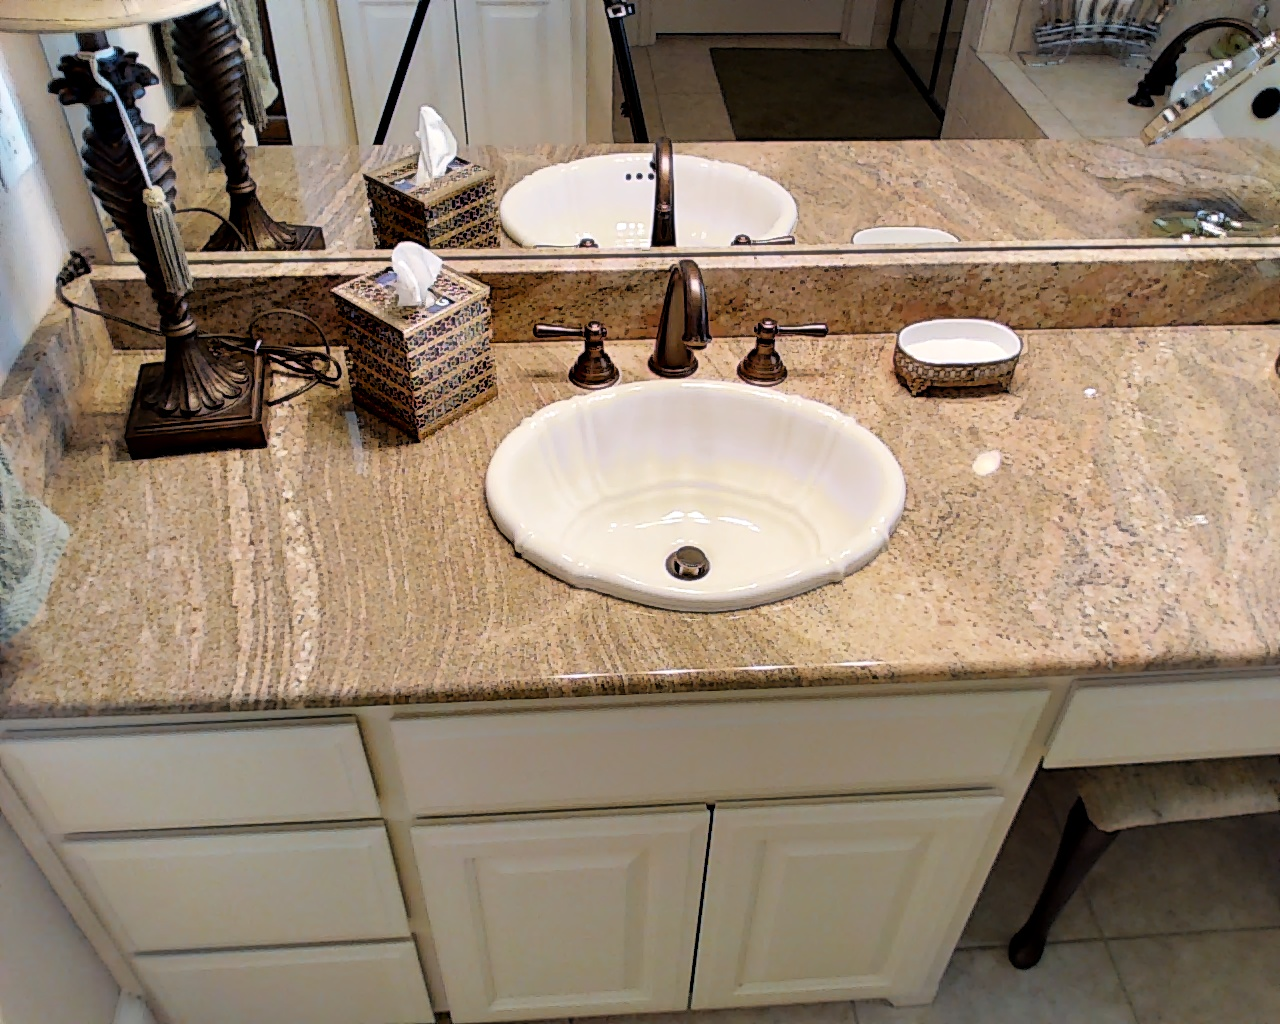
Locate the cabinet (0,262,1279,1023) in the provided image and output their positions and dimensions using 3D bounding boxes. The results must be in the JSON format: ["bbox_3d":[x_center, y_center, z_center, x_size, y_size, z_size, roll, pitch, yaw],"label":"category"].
[{"bbox_3d":[0.260,0.230,1.450,1.830,0.910,0.610,-2,42,-4],"label":"cabinet"}]

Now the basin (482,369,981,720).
[{"bbox_3d":[0.070,0.020,1.180,0.470,0.170,0.350,-3,42,-5],"label":"basin"}]
